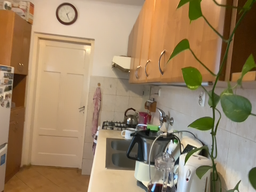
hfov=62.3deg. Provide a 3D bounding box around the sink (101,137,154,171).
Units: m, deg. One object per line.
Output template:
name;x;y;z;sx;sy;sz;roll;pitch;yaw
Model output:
sink;-0.020;0.540;2.010;0.440;0.170;0.380;6;3;-7
